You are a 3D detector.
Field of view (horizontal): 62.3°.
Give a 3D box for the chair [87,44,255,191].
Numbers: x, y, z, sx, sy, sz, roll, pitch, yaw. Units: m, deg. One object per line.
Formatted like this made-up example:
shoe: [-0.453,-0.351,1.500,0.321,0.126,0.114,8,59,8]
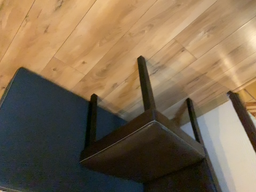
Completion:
chair: [0.210,0.340,1.090,0.650,0.960,0.470,30,128,-30]
